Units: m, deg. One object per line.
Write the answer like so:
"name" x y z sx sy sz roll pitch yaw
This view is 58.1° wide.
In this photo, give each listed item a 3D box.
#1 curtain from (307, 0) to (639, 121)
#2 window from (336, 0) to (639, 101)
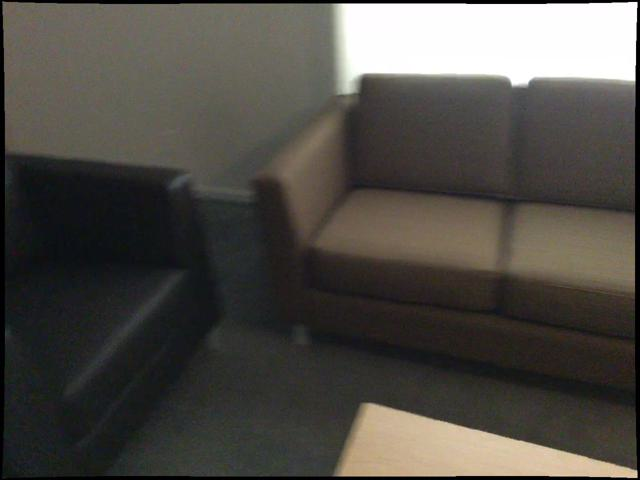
"curtain" 0.848 -0.902 1.770 1.916 1.052 0.060 7 27 20
"window" 0.908 -0.962 1.820 1.776 1.002 0.150 6 27 19
